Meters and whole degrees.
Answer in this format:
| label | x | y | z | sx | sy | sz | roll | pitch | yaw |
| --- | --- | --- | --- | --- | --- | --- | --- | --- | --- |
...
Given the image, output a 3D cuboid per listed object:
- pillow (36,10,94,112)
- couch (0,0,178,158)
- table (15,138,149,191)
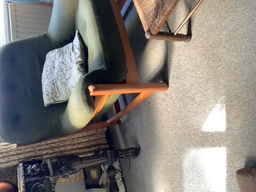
| label | x | y | z | sx | sy | sz | roll | pitch | yaw |
| --- | --- | --- | --- | --- | --- | --- | --- | --- | --- |
| pillow | -0.420 | -0.200 | 1.340 | 0.330 | 0.240 | 0.520 | -36 | 62 | 58 |
| couch | -0.400 | -0.200 | 1.330 | 0.840 | 0.830 | 0.850 | -46 | 54 | 52 |
| table | -0.340 | 0.770 | 1.450 | 0.740 | 0.700 | 0.800 | -27 | 69 | 57 |
